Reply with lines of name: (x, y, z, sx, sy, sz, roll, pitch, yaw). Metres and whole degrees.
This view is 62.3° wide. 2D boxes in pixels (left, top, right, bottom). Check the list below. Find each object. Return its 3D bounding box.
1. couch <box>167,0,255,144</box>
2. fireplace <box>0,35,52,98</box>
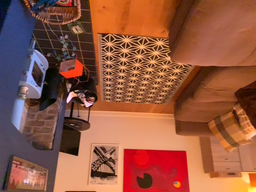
couch: (1.470, -0.110, 2.490, 1.150, 0.760, 2.970, 3, 157, -6)
fireplace: (-1.070, -0.300, 2.260, 0.350, 0.510, 0.420, 3, 157, -5)
